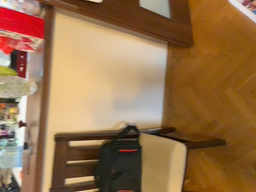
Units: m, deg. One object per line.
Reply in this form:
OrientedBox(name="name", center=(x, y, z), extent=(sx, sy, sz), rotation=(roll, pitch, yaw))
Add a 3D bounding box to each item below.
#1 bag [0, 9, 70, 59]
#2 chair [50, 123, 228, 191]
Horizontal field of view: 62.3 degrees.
OrientedBox(name="bag", center=(-0.650, -0.350, 1.270), extent=(0.440, 0.440, 0.150), rotation=(6, 92, 51))
OrientedBox(name="chair", center=(0.100, 0.480, 1.360), extent=(0.560, 0.980, 0.480), rotation=(9, 94, 51))
